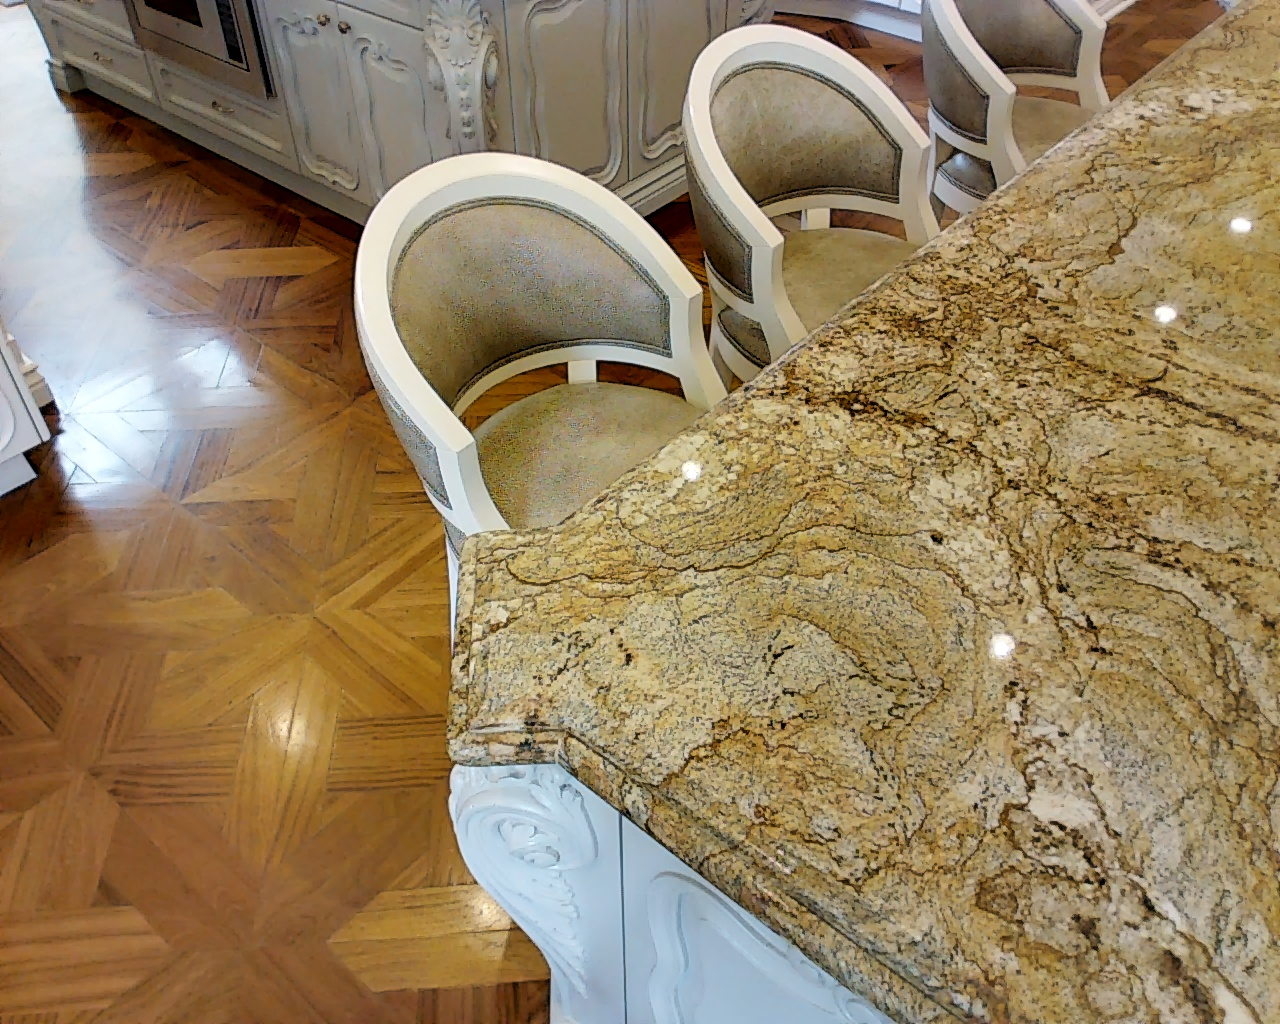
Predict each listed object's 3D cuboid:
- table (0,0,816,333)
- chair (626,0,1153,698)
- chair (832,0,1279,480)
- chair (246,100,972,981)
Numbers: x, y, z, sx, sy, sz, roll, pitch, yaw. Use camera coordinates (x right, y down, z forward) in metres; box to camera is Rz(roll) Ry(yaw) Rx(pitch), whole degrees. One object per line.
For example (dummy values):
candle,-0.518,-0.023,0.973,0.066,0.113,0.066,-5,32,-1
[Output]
table,-0.950,-1.860,3.760,2.730,0.970,1.510,31,51,29
chair,0.390,-0.300,2.040,0.620,1.050,0.540,32,51,29
chair,0.900,-0.720,2.470,0.600,1.030,0.520,32,51,29
chair,-0.040,0.060,1.660,0.670,1.050,0.570,32,51,29
